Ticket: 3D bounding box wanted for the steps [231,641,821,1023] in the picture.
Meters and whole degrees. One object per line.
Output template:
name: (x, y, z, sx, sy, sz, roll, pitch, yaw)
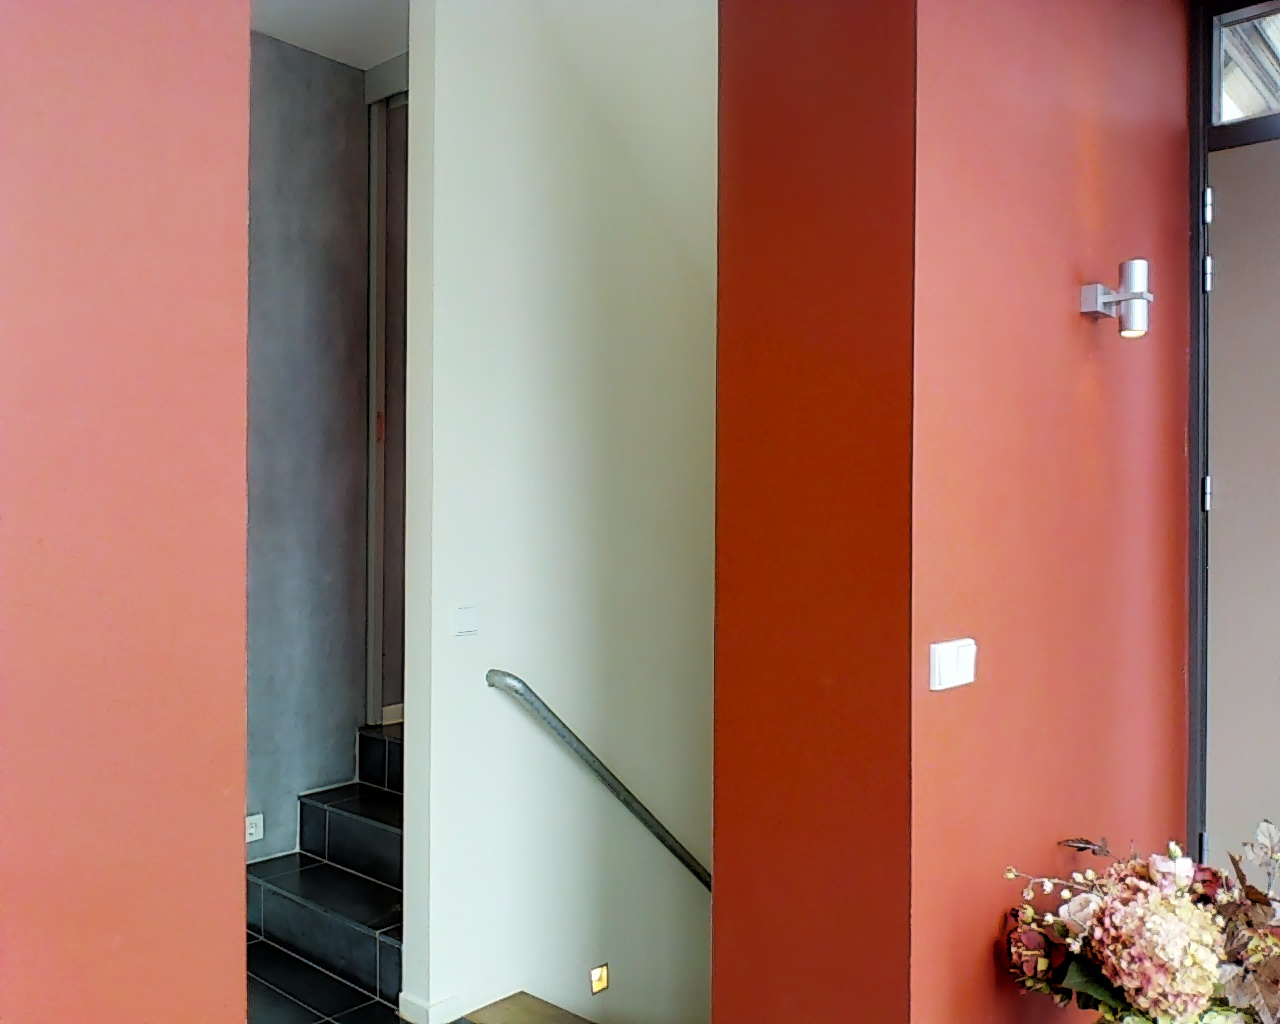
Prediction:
steps: (-0.420, 1.000, 3.090, 1.760, 1.040, 0.670, 1, 1, 42)
